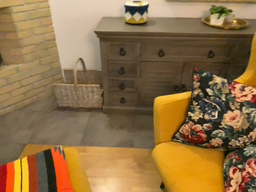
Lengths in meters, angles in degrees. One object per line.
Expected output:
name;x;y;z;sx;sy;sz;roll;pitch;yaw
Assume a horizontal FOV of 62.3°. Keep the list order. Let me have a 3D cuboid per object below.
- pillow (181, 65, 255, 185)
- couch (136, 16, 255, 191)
pillow;0.580;0.130;1.130;0.420;0.390;0.340;25;41;31
couch;0.660;0.270;1.060;0.970;1.070;0.860;-10;35;-15
